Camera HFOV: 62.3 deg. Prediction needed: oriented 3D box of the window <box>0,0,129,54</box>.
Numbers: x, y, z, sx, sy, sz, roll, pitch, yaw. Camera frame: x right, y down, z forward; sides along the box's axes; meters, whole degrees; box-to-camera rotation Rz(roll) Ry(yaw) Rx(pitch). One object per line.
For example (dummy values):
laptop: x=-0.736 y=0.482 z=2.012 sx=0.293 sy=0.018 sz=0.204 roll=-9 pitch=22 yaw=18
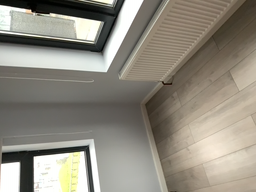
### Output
window: x=-0.490 y=-0.820 z=1.440 sx=1.360 sy=1.120 sz=0.060 roll=126 pitch=137 yaw=-50
